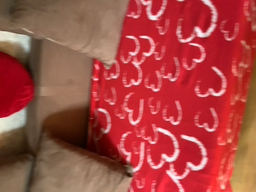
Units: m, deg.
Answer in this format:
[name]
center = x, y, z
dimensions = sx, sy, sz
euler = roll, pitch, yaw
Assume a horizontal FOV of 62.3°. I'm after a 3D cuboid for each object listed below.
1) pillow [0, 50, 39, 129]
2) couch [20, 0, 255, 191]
[pillow]
center = -0.560, -0.040, 0.980
dimensions = 0.120, 0.240, 0.330
euler = 11, 101, 18
[couch]
center = 0.080, 0.070, 1.040
dimensions = 1.010, 0.710, 2.080
euler = 14, 101, 39
